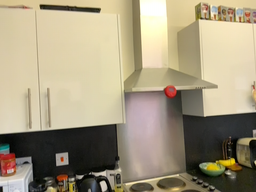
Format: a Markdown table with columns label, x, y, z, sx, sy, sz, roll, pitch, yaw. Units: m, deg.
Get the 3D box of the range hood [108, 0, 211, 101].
| label | x | y | z | sx | sy | sz | roll | pitch | yaw |
| --- | --- | --- | --- | --- | --- | --- | --- | --- | --- |
| range hood | 0.190 | -0.380 | 1.570 | 0.530 | 0.810 | 0.530 | -3 | 0 | -19 |
